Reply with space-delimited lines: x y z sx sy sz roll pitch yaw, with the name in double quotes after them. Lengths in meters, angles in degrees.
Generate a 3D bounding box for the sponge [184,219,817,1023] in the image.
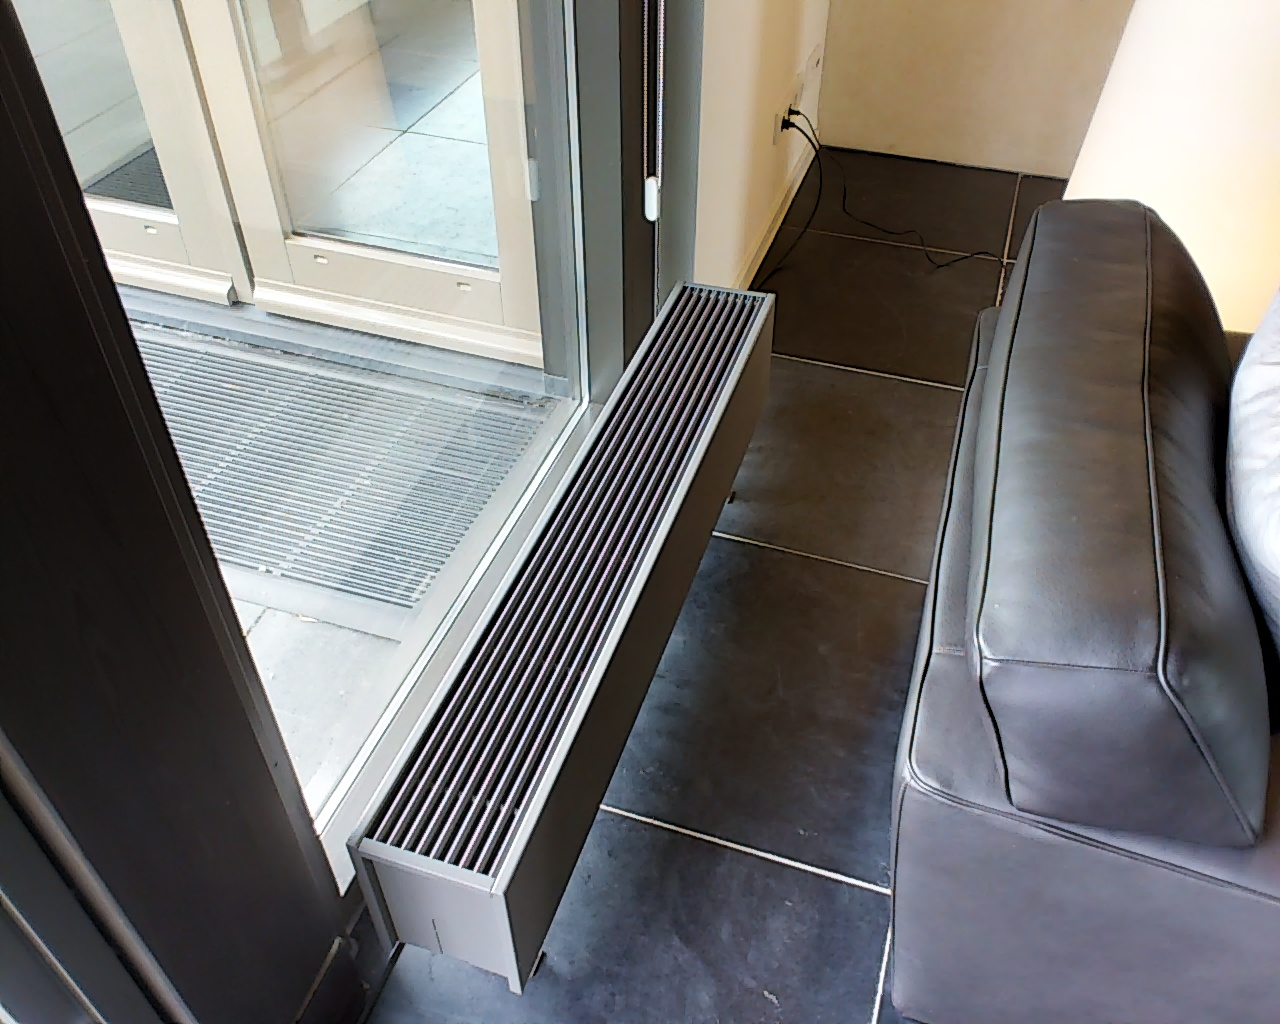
-0.070 0.070 1.640 0.360 0.410 1.340 13 44 14 "sponge"

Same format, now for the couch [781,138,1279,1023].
0.870 0.180 1.300 1.130 0.720 1.040 13 44 14 "couch"
